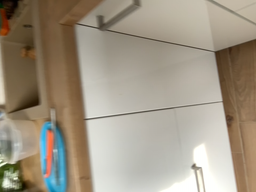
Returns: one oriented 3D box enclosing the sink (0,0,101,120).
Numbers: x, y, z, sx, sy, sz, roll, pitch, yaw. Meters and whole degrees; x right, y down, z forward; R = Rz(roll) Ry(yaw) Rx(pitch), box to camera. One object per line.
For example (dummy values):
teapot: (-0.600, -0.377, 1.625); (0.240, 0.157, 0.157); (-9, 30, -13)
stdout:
sink: (-0.340, -0.110, 0.820); (0.510, 0.170, 0.370); (-10, 85, 48)
